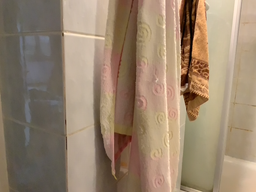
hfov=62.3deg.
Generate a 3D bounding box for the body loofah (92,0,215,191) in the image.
[{"bbox_3d":[0.070,0.140,0.620,0.200,1.010,0.290,10,14,32],"label":"body loofah"}]
